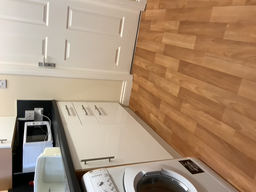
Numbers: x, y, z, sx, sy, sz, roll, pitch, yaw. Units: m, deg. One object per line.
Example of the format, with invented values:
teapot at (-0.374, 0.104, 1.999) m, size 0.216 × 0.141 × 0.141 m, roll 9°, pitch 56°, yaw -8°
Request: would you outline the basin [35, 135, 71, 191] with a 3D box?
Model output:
basin at (-0.600, 0.570, 1.670) m, size 0.170 × 0.230 × 0.480 m, roll -137°, pitch 53°, yaw -58°
